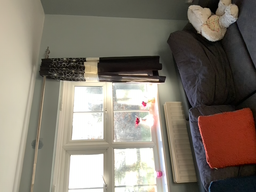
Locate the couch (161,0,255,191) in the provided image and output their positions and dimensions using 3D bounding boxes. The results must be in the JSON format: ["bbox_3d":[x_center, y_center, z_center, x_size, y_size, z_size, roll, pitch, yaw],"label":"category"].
[{"bbox_3d":[0.950,0.240,1.730,1.060,0.810,2.740,104,164,-64],"label":"couch"}]

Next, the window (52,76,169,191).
[{"bbox_3d":[-0.190,0.540,2.410,0.120,1.190,1.660,106,163,-67],"label":"window"}]

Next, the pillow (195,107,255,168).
[{"bbox_3d":[0.780,0.340,1.710,0.140,0.400,0.450,137,136,-58],"label":"pillow"}]
